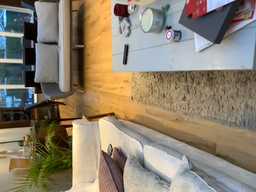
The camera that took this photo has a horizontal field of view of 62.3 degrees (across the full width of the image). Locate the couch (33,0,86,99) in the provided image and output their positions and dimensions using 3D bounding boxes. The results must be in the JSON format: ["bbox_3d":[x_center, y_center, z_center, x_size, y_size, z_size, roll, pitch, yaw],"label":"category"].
[{"bbox_3d":[-1.280,-0.970,3.880,0.870,0.750,1.910,17,106,61],"label":"couch"}]

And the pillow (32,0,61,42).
[{"bbox_3d":[-1.480,-1.370,3.850,0.150,0.450,0.720,-76,-13,-82],"label":"pillow"}]

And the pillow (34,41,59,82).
[{"bbox_3d":[-1.510,-0.630,3.950,0.150,0.390,0.740,-147,58,-76],"label":"pillow"}]
